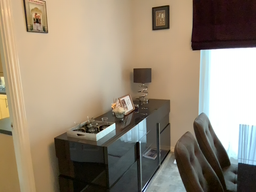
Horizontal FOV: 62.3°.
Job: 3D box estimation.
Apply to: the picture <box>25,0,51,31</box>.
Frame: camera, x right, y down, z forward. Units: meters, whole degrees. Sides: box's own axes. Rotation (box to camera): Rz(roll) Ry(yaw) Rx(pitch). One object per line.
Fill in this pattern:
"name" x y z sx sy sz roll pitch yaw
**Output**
"picture" -0.710 -0.650 1.690 0.030 0.240 0.210 3 12 23
